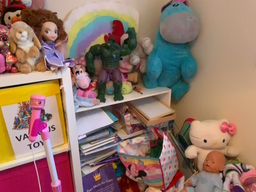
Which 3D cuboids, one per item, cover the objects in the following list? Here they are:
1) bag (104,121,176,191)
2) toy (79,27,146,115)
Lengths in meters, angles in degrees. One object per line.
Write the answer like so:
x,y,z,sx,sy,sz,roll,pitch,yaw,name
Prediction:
0.080,0.390,1.260,0.350,0.350,0.270,6,22,17,bag
-0.090,-0.170,1.300,0.330,0.470,0.200,-11,23,-27,toy
